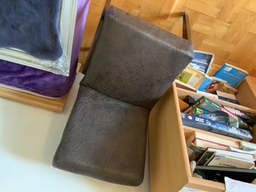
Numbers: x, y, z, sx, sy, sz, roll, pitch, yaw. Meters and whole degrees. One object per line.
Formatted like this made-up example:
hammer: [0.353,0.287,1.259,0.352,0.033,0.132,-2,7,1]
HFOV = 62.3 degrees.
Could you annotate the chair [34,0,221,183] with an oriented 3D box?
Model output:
chair: [-0.030,-0.130,0.980,0.470,0.780,0.490,17,131,-12]
